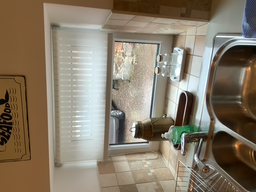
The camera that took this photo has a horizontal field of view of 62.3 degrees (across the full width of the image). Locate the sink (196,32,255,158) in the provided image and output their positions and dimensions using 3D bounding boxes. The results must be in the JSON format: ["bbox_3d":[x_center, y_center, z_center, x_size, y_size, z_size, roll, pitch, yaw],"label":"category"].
[{"bbox_3d":[0.520,-0.020,0.810,0.470,0.210,0.410,-135,47,-67],"label":"sink"}]

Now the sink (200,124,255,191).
[{"bbox_3d":[0.480,0.270,0.860,0.350,0.160,0.180,-135,47,-67],"label":"sink"}]
